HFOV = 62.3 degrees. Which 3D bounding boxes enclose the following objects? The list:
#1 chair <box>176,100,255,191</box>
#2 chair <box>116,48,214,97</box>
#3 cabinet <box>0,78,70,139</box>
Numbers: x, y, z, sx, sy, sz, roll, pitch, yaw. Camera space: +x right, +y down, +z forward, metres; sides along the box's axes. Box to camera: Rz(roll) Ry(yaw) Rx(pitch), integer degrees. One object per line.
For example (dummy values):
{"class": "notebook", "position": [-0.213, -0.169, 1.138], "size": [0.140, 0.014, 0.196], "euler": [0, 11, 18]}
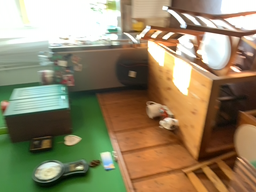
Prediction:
{"class": "chair", "position": [0.880, 0.370, 1.580], "size": [0.400, 0.890, 0.500], "euler": [-119, 26, -58]}
{"class": "chair", "position": [0.430, -0.330, 2.670], "size": [0.490, 1.080, 0.360], "euler": [-119, 26, -57]}
{"class": "cabinet", "position": [-0.960, 0.100, 2.290], "size": [0.600, 0.590, 0.330], "euler": [-120, 26, -58]}
